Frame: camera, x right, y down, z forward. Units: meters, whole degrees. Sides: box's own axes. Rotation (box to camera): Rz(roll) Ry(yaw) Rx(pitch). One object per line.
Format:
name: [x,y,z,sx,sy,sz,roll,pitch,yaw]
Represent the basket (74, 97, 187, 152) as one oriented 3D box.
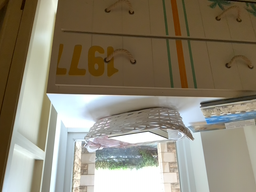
basket: [0.040,0.170,1.060,0.440,0.140,0.410,-9,158,18]
